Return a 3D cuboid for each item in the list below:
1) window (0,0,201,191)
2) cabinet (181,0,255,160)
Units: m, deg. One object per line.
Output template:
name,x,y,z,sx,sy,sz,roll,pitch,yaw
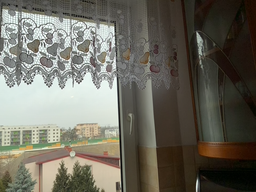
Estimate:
window,-0.170,-0.100,0.970,0.990,1.840,0.150,1,-9,-22
cabinet,0.430,-0.220,1.000,0.280,0.960,0.330,-6,-9,20
